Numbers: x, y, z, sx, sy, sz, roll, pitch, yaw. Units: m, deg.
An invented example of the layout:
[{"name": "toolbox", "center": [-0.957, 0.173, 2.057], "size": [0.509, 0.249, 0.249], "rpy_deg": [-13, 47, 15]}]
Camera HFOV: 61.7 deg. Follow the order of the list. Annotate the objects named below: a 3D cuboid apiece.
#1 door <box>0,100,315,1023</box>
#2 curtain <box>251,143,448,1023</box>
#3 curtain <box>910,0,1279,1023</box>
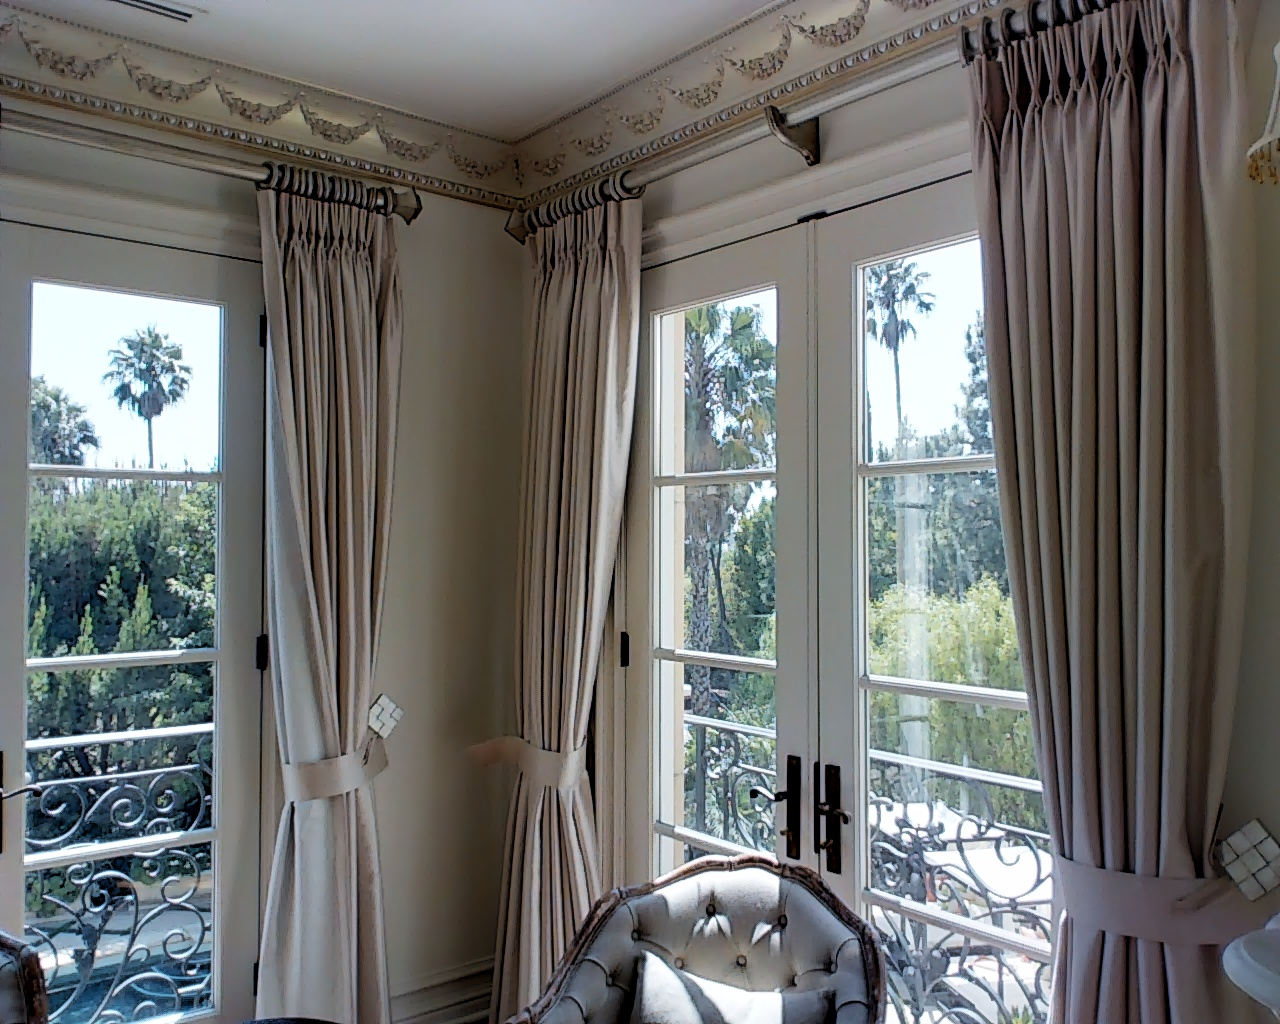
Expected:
[{"name": "door", "center": [-1.600, 0.320, 2.700], "size": [1.520, 2.671, 0.160], "rpy_deg": [2, -2, -40]}, {"name": "curtain", "center": [-0.850, 0.230, 3.160], "size": [0.460, 2.471, 0.280], "rpy_deg": [2, -2, -40]}, {"name": "curtain", "center": [0.910, 0.270, 1.950], "size": [0.290, 2.761, 0.780], "rpy_deg": [2, -2, -40]}]
